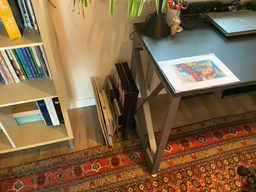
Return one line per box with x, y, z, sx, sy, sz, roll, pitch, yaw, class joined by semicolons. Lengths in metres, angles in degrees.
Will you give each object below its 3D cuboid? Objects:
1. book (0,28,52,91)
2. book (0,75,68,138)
-0.580;-0.190;1.120;0.300;0.240;0.190;-8;47;-12;book
-0.580;0.060;1.350;0.330;0.240;0.260;-9;47;-12;book
